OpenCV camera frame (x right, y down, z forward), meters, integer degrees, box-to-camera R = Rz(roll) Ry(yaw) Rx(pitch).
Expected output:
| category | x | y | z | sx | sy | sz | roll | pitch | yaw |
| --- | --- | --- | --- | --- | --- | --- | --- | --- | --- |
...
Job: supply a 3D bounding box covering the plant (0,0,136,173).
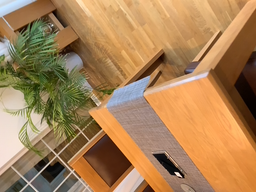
| category | x | y | z | sx | sy | sz | roll | pitch | yaw |
| --- | --- | --- | --- | --- | --- | --- | --- | --- | --- |
| plant | -0.820 | -0.130 | 2.120 | 0.920 | 1.030 | 1.200 | -10 | 120 | 52 |
